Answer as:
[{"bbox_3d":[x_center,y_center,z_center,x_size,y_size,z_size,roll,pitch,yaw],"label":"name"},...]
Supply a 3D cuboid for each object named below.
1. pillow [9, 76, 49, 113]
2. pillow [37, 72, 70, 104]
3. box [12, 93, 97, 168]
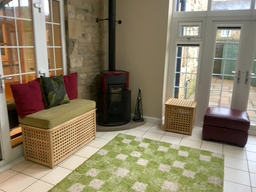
[{"bbox_3d":[-1.230,-0.030,2.670,0.170,0.370,0.430,8,15,23],"label":"pillow"},{"bbox_3d":[-1.030,-0.120,2.970,0.140,0.370,0.380,-5,9,29],"label":"pillow"},{"bbox_3d":[-0.950,0.400,2.990,0.510,0.630,1.060,8,15,23],"label":"box"}]
